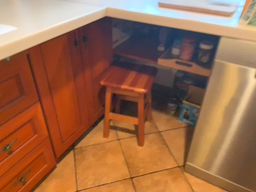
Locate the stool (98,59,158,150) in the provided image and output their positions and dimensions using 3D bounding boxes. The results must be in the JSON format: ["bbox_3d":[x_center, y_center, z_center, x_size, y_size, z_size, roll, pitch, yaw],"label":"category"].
[{"bbox_3d":[0.010,0.050,1.430,0.290,0.460,0.340,10,36,11],"label":"stool"}]
